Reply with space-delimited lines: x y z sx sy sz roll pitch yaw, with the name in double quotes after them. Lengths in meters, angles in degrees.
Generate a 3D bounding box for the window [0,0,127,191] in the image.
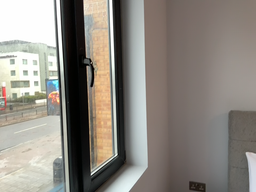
-0.250 -0.220 1.130 0.040 1.530 1.120 0 5 21 "window"
